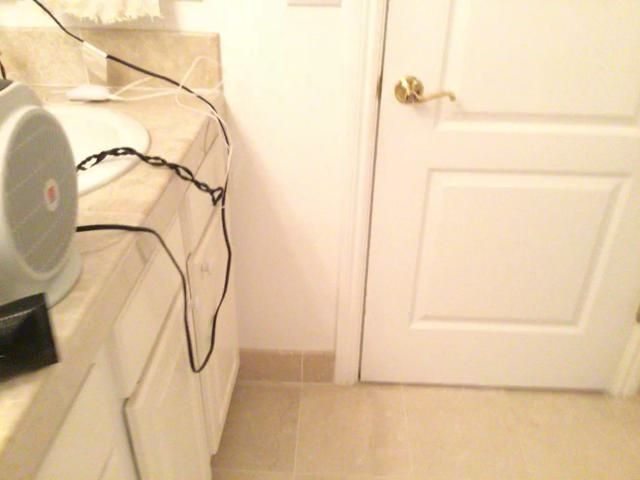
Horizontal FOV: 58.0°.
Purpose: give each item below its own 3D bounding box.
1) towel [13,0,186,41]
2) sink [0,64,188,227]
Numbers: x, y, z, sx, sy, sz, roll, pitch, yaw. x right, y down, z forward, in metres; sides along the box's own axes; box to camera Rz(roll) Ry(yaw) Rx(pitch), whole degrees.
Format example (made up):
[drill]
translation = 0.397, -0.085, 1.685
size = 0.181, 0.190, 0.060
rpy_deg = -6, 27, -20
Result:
[towel]
translation = -0.460, -0.540, 1.180
size = 0.320, 0.230, 0.090
rpy_deg = -1, 30, 3
[sink]
translation = -0.480, -0.190, 1.090
size = 0.360, 0.190, 0.330
rpy_deg = -1, 30, 3
